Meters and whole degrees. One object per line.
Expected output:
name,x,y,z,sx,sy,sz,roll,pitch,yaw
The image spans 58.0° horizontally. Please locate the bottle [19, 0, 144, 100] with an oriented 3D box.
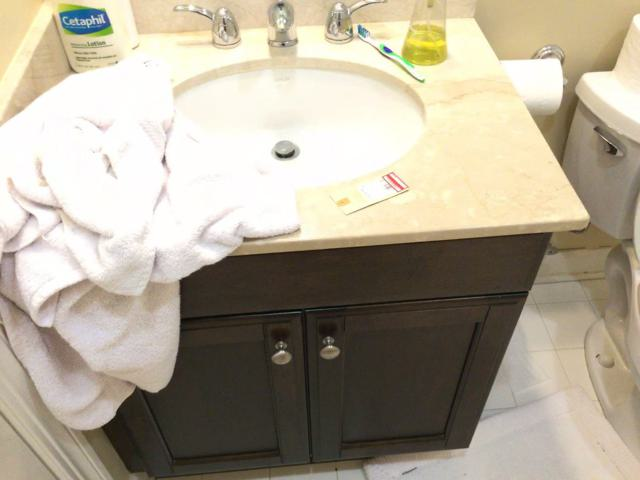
bottle,-0.360,-0.340,0.880,0.110,0.200,0.130,-4,45,0
